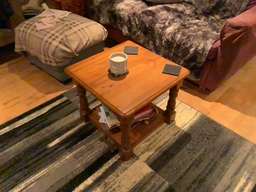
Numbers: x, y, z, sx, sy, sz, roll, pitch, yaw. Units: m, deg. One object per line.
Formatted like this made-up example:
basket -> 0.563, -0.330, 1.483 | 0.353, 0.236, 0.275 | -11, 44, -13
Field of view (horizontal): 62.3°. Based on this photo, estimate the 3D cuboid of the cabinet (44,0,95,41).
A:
cabinet -> -0.720, -1.030, 2.630 | 0.400, 0.460, 0.420 | -30, 50, -28

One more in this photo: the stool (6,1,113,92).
stool -> -0.620, -0.520, 2.060 | 0.660, 0.470, 0.660 | 31, 51, 30

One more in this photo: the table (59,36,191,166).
table -> -0.020, -0.010, 1.500 | 0.600, 0.470, 0.580 | -34, 52, -31
